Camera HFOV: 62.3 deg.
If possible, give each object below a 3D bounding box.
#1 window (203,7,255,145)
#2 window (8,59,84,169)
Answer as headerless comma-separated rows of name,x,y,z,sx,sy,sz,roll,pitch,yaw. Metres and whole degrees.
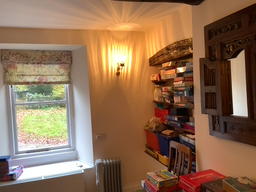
window,0.800,-0.120,1.370,0.060,0.850,0.790,-4,3,-22
window,-1.170,0.230,3.130,0.940,1.530,0.100,-4,3,-20
